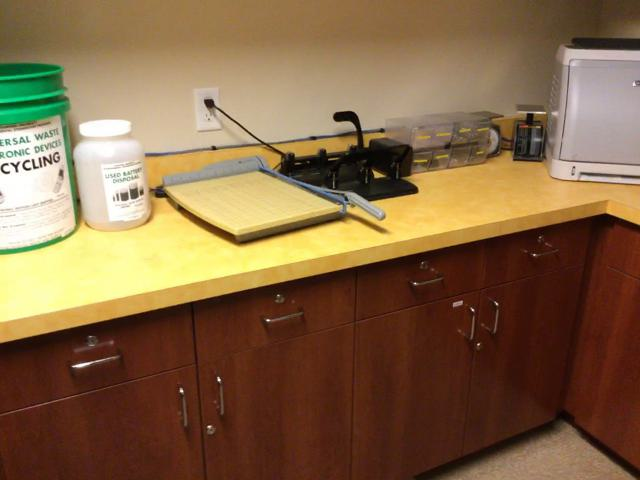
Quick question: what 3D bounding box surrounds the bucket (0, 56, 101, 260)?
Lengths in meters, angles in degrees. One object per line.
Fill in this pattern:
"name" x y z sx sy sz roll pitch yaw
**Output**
"bucket" -0.700 -0.200 1.300 0.300 0.380 0.350 -11 23 -23
